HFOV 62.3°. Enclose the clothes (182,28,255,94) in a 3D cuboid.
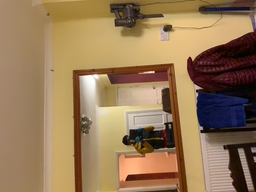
[{"bbox_3d":[0.940,-0.330,2.040,0.220,0.740,0.540,90,177,-81],"label":"clothes"}]
